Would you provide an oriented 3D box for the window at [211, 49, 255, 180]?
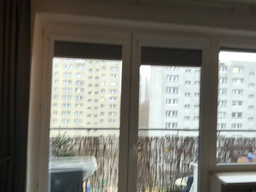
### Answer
[{"bbox_3d":[1.670,0.210,2.390,1.470,1.350,0.160,2,0,-10],"label":"window"}]
